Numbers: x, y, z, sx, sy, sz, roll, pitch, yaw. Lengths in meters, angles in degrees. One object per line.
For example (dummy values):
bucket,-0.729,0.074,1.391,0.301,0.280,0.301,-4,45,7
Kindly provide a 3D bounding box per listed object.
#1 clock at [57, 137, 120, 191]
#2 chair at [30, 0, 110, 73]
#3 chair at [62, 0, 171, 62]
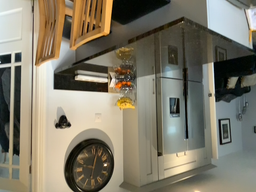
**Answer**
clock,-0.400,0.740,2.250,0.670,0.550,0.100,2,175,-35
chair,-0.480,-0.700,1.760,0.490,0.910,0.430,3,175,-41
chair,-0.070,-0.730,1.300,0.490,0.910,0.430,3,175,-41
